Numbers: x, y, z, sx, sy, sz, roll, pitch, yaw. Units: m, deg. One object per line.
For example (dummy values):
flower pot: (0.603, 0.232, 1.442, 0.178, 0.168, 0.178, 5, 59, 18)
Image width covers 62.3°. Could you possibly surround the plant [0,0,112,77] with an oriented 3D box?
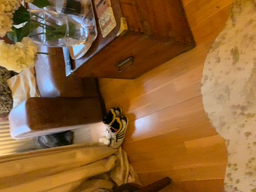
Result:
plant: (-0.370, -0.330, 0.830, 0.330, 0.430, 0.400, -24, 74, 45)
